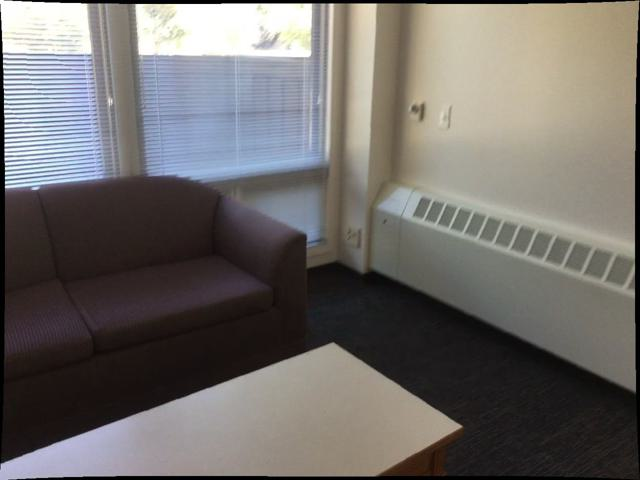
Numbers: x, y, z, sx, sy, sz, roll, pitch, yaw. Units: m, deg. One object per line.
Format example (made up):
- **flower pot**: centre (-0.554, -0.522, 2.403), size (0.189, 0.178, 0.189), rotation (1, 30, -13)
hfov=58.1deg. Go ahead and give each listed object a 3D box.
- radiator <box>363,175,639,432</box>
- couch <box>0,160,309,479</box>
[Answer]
- **radiator**: centre (0.948, 0.230, 2.620), size (0.220, 0.641, 2.049), rotation (-12, 24, -33)
- **couch**: centre (-1.038, 0.240, 2.320), size (1.768, 0.791, 0.920), rotation (-12, 24, -33)
